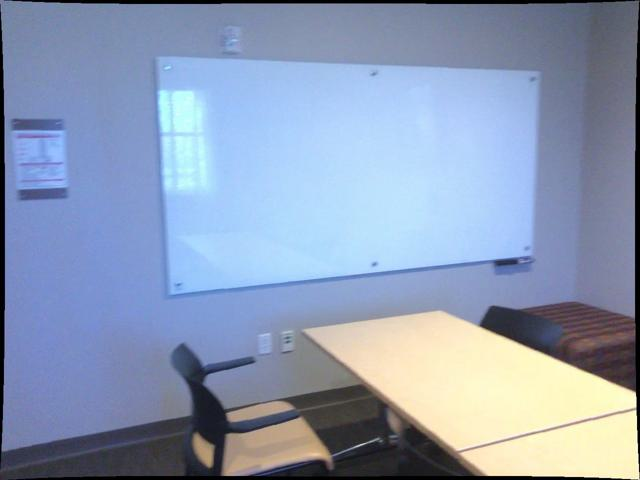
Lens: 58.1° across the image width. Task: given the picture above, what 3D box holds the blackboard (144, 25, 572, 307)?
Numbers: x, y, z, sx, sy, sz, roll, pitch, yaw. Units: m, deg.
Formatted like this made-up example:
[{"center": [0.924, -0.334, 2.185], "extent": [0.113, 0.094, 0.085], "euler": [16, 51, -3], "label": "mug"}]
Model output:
[{"center": [0.389, -0.451, 3.340], "extent": [2.606, 1.362, 0.110], "euler": [-5, 10, -22], "label": "blackboard"}]
